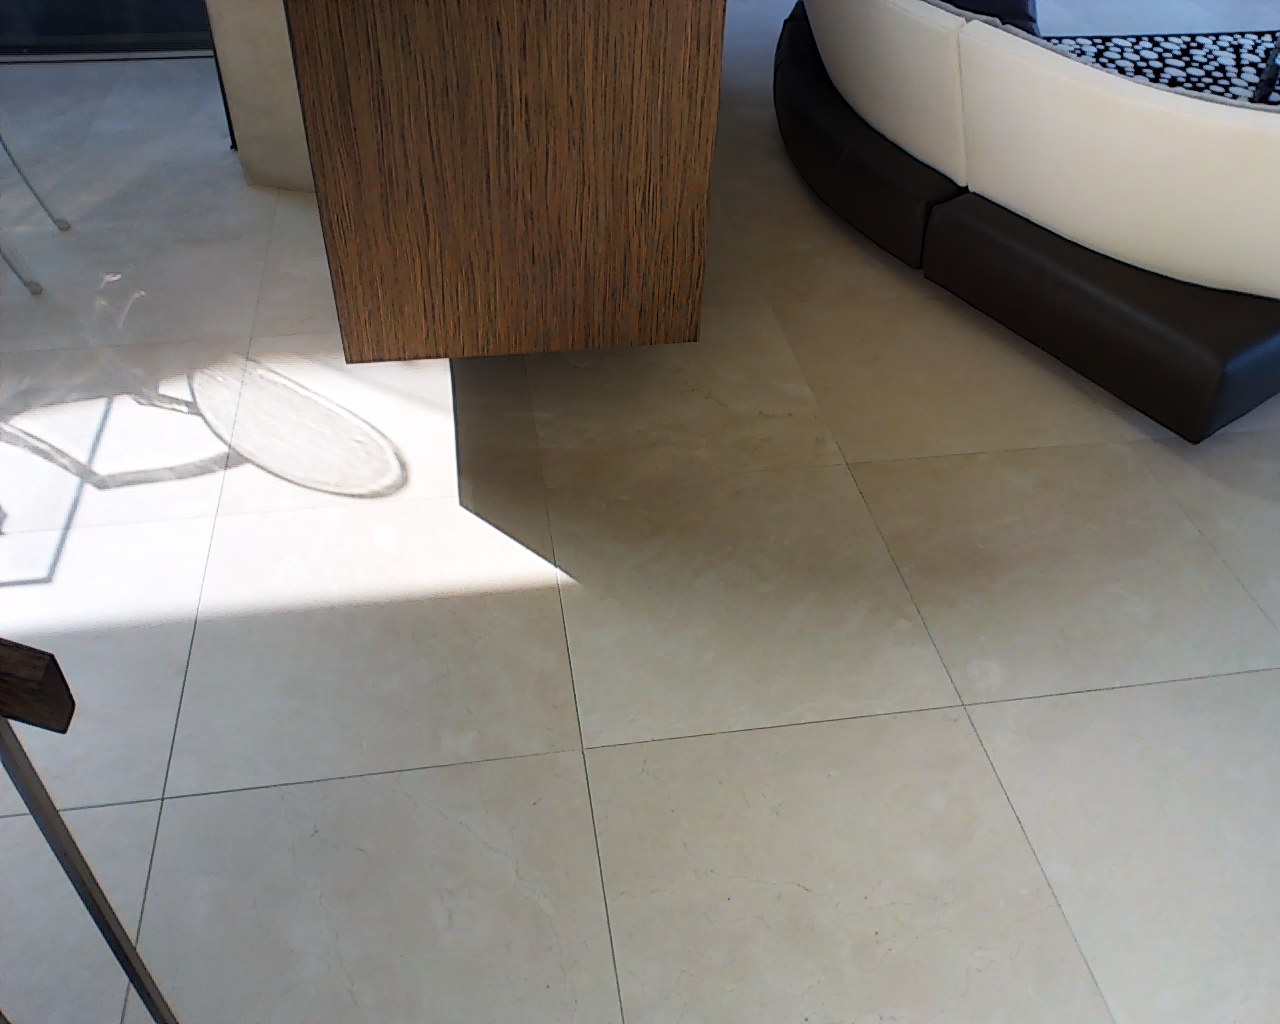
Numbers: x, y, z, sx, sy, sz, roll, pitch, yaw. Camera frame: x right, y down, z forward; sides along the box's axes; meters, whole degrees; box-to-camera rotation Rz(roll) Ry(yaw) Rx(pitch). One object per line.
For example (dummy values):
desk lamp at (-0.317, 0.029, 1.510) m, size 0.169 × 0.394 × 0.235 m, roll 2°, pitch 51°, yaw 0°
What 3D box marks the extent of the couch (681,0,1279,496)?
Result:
couch at (1.130, -1.400, 3.360) m, size 1.400 × 0.770 × 3.100 m, roll -5°, pitch 42°, yaw -8°
